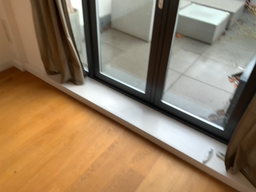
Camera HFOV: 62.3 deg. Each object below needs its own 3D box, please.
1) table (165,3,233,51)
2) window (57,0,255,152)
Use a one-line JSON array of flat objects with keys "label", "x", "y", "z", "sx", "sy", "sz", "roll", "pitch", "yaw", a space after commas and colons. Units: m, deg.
[{"label": "table", "x": 1.150, "y": -1.160, "z": 3.490, "sx": 0.830, "sy": 0.400, "sz": 0.580, "roll": 29, "pitch": 47, "yaw": 27}, {"label": "window", "x": 0.120, "y": -0.710, "z": 1.470, "sx": 1.900, "sy": 1.960, "sz": 0.070, "roll": 27, "pitch": 46, "yaw": 26}]
